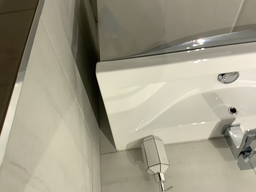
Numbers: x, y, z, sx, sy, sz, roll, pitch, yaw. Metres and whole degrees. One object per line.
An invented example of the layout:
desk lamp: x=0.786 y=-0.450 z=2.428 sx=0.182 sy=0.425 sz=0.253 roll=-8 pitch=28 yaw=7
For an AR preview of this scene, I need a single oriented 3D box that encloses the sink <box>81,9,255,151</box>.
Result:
sink: x=0.310 y=-0.040 z=0.670 sx=0.820 sy=0.150 sz=0.400 roll=-8 pitch=142 yaw=-1
